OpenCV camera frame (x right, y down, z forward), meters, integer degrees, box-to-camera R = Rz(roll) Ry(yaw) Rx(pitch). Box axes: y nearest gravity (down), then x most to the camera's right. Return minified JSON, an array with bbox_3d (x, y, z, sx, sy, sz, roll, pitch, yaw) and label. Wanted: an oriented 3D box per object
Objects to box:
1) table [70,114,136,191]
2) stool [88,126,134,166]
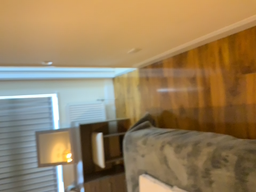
[{"bbox_3d":[-0.380,0.890,3.130,0.510,0.760,1.180,-10,84,62],"label":"table"},{"bbox_3d":[-0.250,0.710,3.110,0.370,0.540,0.450,-10,84,62],"label":"stool"}]
